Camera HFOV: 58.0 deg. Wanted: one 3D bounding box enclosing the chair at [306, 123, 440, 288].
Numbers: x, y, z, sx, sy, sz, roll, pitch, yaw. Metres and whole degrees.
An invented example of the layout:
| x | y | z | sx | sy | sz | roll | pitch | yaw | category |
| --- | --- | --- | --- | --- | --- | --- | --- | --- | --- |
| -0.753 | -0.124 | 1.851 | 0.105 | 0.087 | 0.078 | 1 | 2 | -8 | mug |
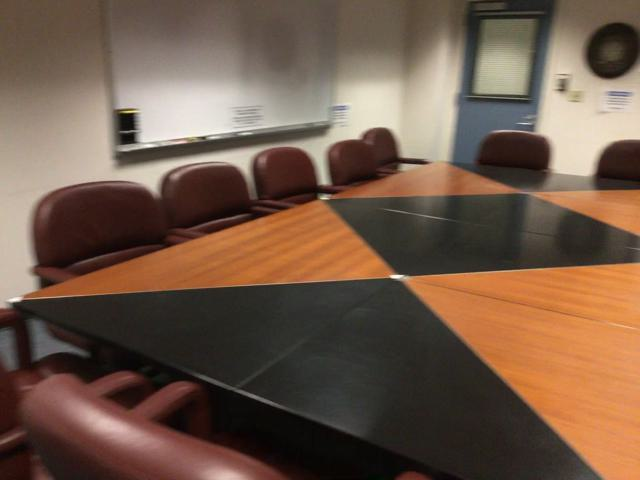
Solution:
| x | y | z | sx | sy | sz | roll | pitch | yaw | category |
| --- | --- | --- | --- | --- | --- | --- | --- | --- | --- |
| 0.350 | -0.270 | 3.900 | 0.630 | 0.920 | 0.610 | 14 | 21 | 32 | chair |

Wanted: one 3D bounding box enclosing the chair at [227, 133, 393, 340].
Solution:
| x | y | z | sx | sy | sz | roll | pitch | yaw | category |
| --- | --- | --- | --- | --- | --- | --- | --- | --- | --- |
| -0.060 | -0.070 | 3.340 | 0.650 | 0.960 | 0.670 | 14 | 21 | 32 | chair |

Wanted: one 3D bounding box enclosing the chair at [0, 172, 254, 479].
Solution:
| x | y | z | sx | sy | sz | roll | pitch | yaw | category |
| --- | --- | --- | --- | --- | --- | --- | --- | --- | --- |
| -0.730 | 0.270 | 2.280 | 0.690 | 0.910 | 0.630 | 14 | 21 | 32 | chair |

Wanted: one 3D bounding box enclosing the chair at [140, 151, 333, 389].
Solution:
| x | y | z | sx | sy | sz | roll | pitch | yaw | category |
| --- | --- | --- | --- | --- | --- | --- | --- | --- | --- |
| -0.390 | 0.090 | 2.810 | 0.650 | 0.900 | 0.600 | 14 | 21 | 32 | chair |
